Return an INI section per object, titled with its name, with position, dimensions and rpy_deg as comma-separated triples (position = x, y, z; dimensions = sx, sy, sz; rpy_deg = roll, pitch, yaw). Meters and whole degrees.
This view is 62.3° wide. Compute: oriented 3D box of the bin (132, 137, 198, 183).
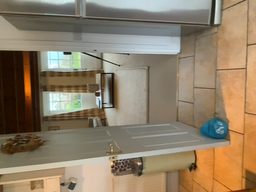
[bin]
position = 0.380, 0.660, 2.280
dimensions = 0.380, 0.590, 0.290
rpy_deg = -161, 70, -72

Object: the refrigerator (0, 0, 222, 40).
[refrigerator]
position = -0.140, -0.900, 1.840
dimensions = 0.720, 1.690, 0.620
rpy_deg = -166, 75, -73
